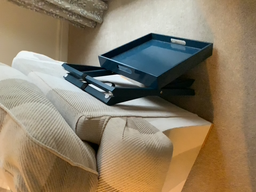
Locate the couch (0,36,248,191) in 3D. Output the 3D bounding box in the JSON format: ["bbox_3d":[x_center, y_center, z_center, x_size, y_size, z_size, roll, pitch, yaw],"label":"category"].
[{"bbox_3d":[-0.330,0.380,1.050,1.090,0.950,1.020,32,108,41],"label":"couch"}]
